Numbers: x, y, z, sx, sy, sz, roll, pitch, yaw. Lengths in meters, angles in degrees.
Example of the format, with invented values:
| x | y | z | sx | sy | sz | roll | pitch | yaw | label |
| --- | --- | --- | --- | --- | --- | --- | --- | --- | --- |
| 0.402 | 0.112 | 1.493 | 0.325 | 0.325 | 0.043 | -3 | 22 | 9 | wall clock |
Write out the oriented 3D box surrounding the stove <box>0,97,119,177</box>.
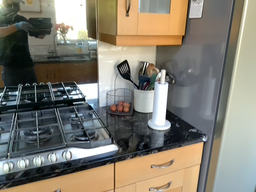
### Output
| x | y | z | sx | sy | sz | roll | pitch | yaw | label |
| --- | --- | --- | --- | --- | --- | --- | --- | --- | --- |
| -0.460 | 0.160 | 1.060 | 0.670 | 0.060 | 0.580 | -6 | 21 | -22 | stove |
